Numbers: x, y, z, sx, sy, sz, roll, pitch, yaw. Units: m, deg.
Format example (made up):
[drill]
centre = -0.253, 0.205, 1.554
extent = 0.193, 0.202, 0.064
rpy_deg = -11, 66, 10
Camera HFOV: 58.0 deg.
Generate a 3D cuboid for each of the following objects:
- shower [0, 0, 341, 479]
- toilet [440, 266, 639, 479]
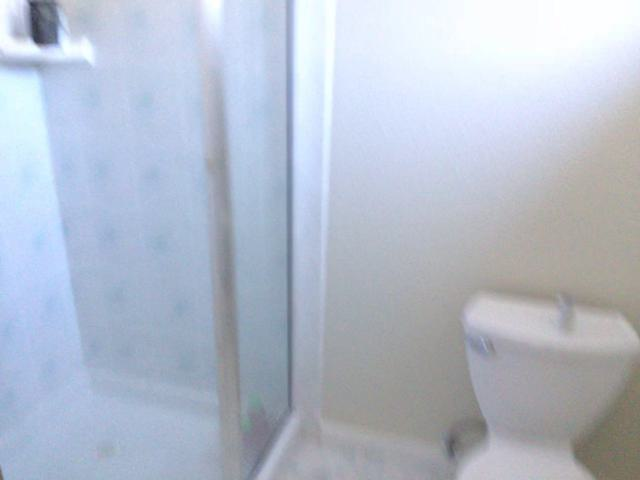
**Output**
[shower]
centre = -0.610, -0.020, 1.550
extent = 1.020, 1.920, 0.890
rpy_deg = -6, 19, -23
[toilet]
centre = 0.570, 0.600, 1.460
extent = 0.460, 0.850, 0.670
rpy_deg = 7, 18, 18
